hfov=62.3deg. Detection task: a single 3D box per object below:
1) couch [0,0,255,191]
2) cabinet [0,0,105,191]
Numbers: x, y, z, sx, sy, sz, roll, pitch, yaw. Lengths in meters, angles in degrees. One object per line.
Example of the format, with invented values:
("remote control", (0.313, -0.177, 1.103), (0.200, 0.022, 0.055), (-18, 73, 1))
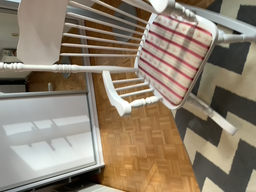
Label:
("couch", (0.070, -0.220, 1.050), (0.880, 1.150, 0.620), (46, 126, 39))
("cabinet", (-1.630, 0.040, 1.980), (0.660, 2.640, 1.850), (-15, 81, 51))
